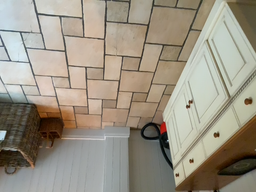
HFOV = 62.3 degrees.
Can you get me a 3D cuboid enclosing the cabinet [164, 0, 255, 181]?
[{"bbox_3d":[0.750,0.020,1.720,0.460,0.890,1.570,2,144,-5],"label":"cabinet"}]
